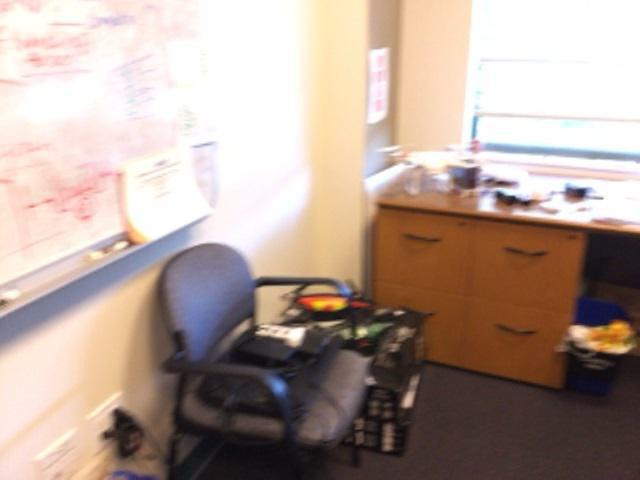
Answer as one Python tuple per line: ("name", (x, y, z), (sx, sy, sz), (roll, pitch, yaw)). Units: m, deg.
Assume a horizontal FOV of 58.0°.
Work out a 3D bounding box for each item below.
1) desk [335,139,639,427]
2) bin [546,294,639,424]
("desk", (1.220, 0.130, 2.300), (2.160, 0.860, 0.820), (7, 18, 20))
("bin", (1.000, 0.430, 2.150), (0.260, 0.340, 0.290), (7, 18, 20))
